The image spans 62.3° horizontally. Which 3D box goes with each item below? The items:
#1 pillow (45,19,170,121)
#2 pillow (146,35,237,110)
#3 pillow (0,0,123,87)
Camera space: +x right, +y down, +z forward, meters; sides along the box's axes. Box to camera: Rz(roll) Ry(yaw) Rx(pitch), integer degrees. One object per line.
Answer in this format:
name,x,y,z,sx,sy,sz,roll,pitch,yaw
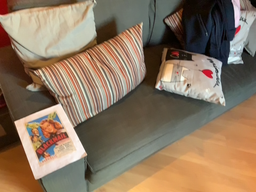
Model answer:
pillow,-0.110,-0.140,1.140,0.580,0.330,0.200,-30,79,-26
pillow,0.400,-0.170,1.360,0.480,0.140,0.420,14,48,5
pillow,-0.340,-0.300,1.130,0.470,0.390,0.250,-24,84,-24
